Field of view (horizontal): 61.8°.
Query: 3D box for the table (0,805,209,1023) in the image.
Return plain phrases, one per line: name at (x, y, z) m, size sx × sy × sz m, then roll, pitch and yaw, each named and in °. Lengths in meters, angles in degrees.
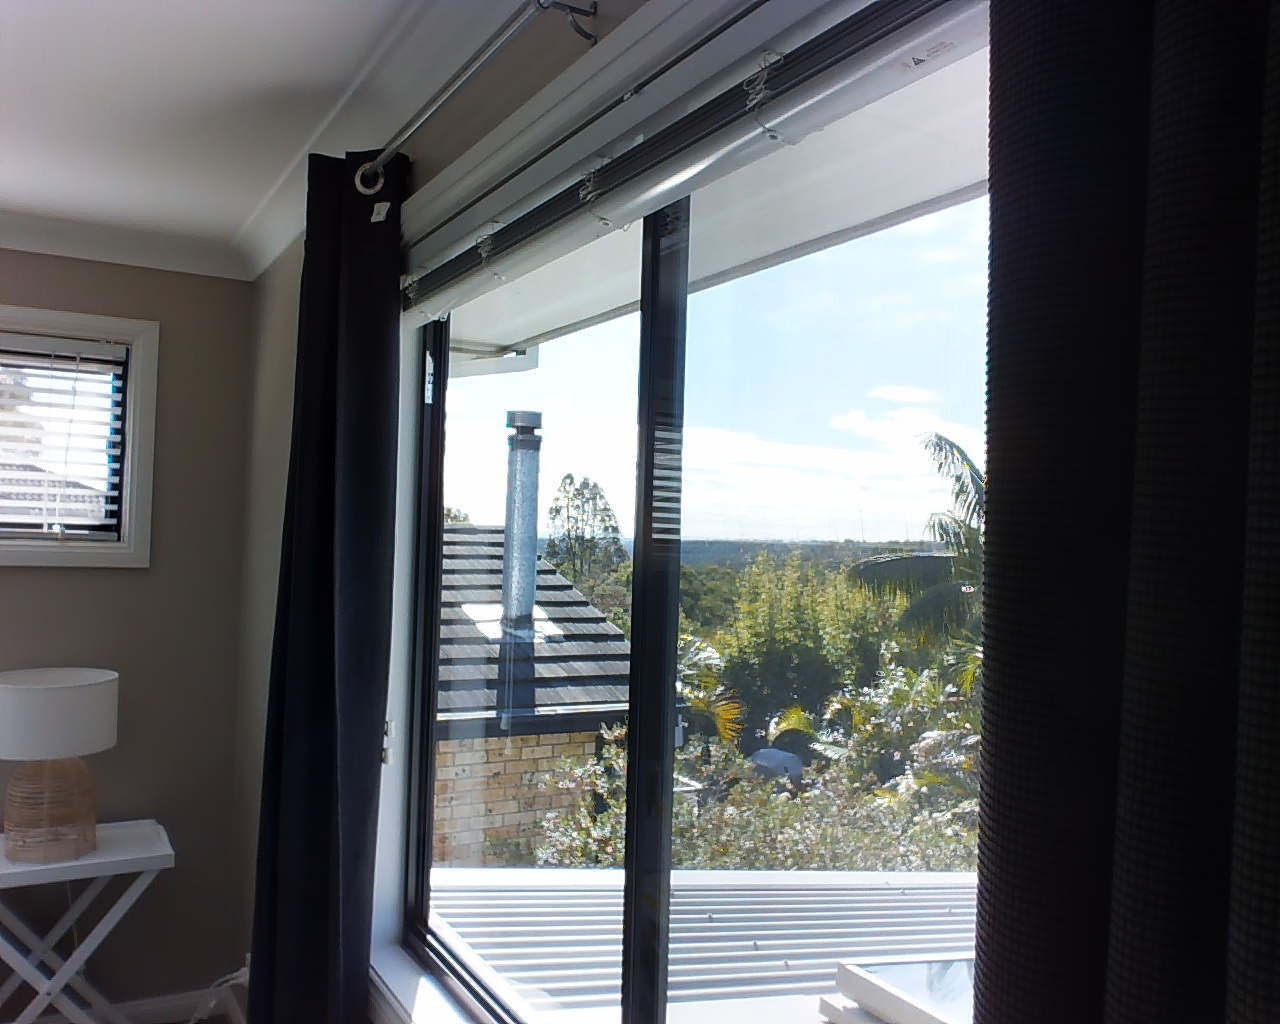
table at (-1.570, 1.210, 2.870) m, size 0.670 × 0.660 × 0.500 m, roll 3°, pitch -2°, yaw -31°
